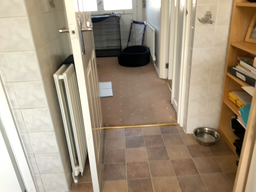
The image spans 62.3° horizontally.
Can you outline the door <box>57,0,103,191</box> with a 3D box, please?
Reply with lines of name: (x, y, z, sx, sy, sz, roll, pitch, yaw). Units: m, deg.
door: (-0.280, -0.460, 1.240, 0.060, 2.000, 0.800, -5, 25, -4)
